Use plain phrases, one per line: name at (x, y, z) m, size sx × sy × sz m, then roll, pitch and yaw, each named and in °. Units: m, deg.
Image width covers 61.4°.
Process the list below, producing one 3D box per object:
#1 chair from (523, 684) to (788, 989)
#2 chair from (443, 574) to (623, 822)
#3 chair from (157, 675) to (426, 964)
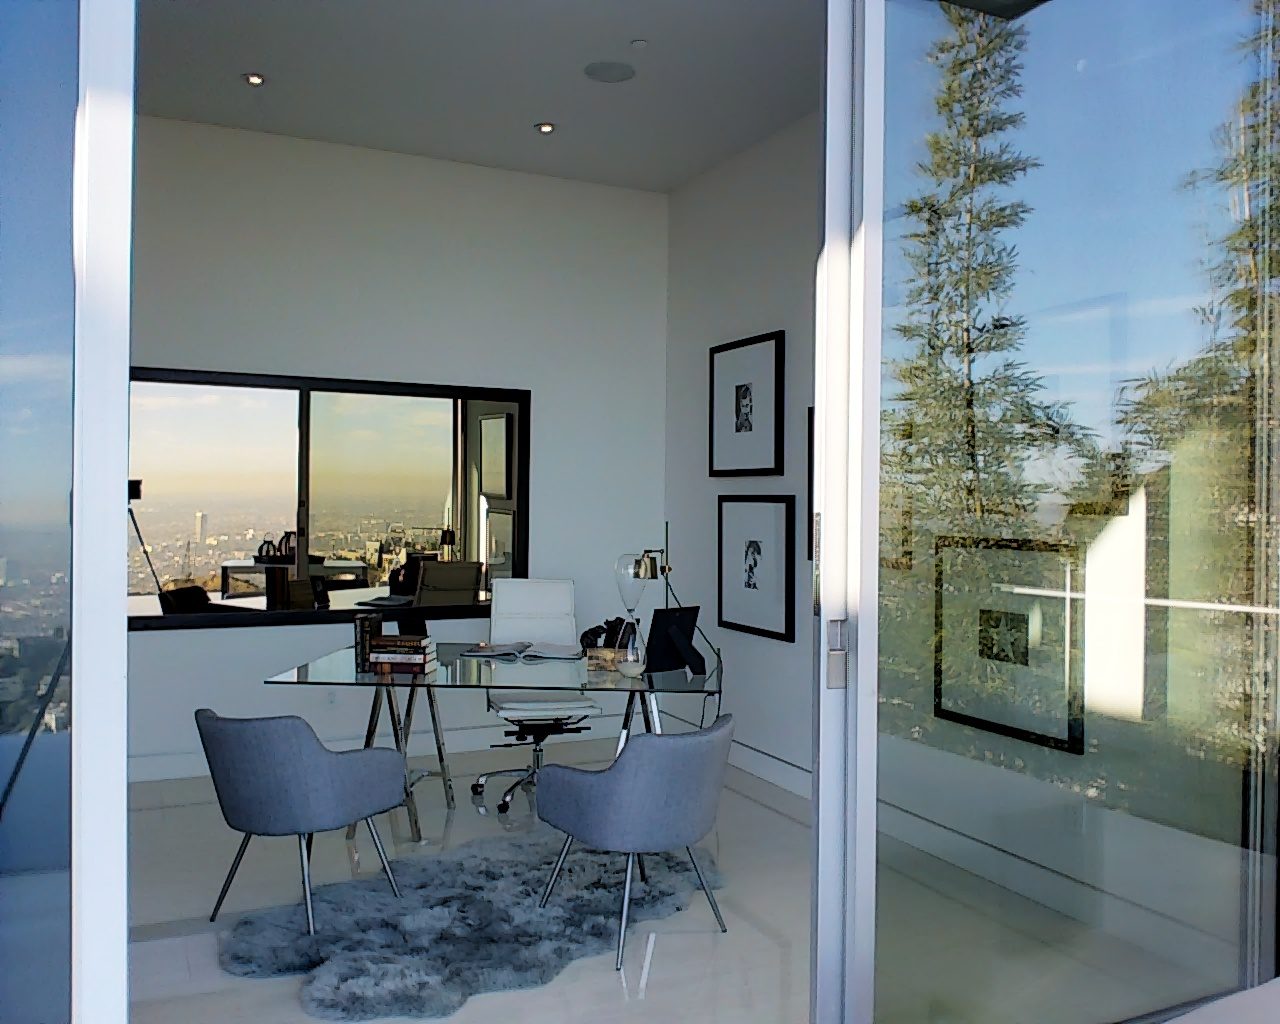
chair at (0.040, 1.050, 3.700) m, size 0.620 × 0.760 × 0.690 m, roll 0°, pitch 1°, yaw -36°
chair at (-0.500, 0.870, 5.350) m, size 0.720 × 1.060 × 0.850 m, roll 0°, pitch 1°, yaw 7°
chair at (-1.210, 1.020, 3.780) m, size 0.610 × 0.750 × 0.660 m, roll 1°, pitch 1°, yaw 35°
